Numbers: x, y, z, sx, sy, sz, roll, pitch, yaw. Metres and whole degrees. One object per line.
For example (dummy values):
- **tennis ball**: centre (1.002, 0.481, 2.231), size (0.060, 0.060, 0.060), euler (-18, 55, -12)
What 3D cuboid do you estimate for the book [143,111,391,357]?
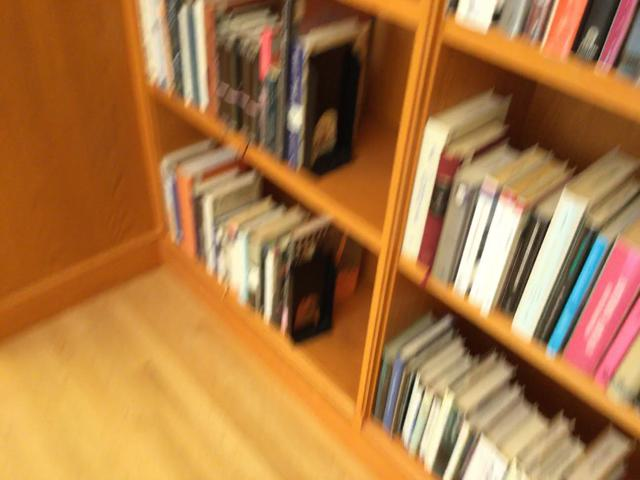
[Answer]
- **book**: centre (-0.160, -0.050, 1.510), size (0.330, 0.310, 0.570), euler (-24, 47, -35)

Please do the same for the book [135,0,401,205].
- **book**: centre (-0.140, -0.390, 1.200), size (0.240, 0.370, 0.540), euler (-24, 47, -35)

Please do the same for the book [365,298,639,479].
- **book**: centre (0.350, 0.380, 1.060), size (0.200, 0.250, 0.510), euler (-24, 47, -35)
